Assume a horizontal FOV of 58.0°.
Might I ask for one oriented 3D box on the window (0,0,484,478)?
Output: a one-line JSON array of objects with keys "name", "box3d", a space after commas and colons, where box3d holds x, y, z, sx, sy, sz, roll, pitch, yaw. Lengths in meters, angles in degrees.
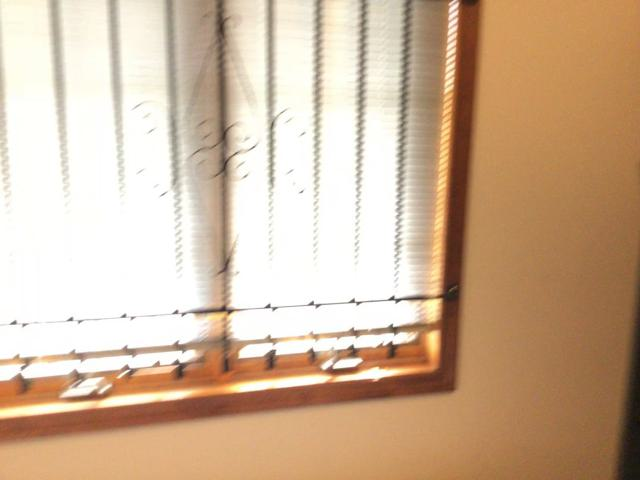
[{"name": "window", "box3d": [-0.250, -0.230, 1.330, 1.280, 1.390, 0.210, -2, 10, -19]}]
